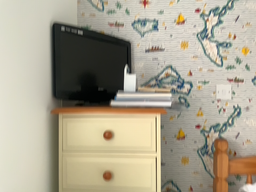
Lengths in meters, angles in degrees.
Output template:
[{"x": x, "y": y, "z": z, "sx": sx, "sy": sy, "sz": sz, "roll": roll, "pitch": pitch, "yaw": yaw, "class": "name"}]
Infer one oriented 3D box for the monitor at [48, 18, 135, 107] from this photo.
[{"x": -0.150, "y": -0.140, "z": 1.070, "sx": 0.040, "sy": 0.370, "sz": 0.500, "roll": 1, "pitch": 1, "yaw": 45, "class": "monitor"}]
